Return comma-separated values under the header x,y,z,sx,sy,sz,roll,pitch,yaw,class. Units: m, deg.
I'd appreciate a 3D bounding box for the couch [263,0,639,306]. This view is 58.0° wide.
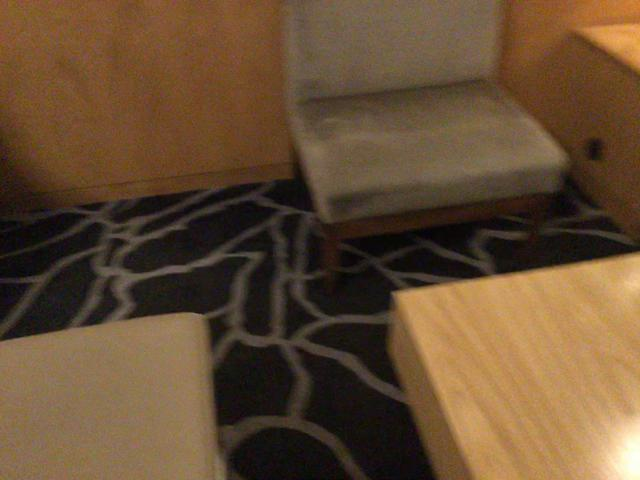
x,y,z,sx,sy,sz,roll,pitch,yaw,class
0.310,-0.400,1.890,0.860,0.770,0.800,-7,38,-9,couch
